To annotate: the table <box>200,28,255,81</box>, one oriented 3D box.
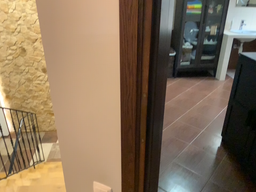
[{"bbox_3d":[2.530,-0.810,4.010,1.990,0.810,0.680,-1,25,-3],"label":"table"}]
